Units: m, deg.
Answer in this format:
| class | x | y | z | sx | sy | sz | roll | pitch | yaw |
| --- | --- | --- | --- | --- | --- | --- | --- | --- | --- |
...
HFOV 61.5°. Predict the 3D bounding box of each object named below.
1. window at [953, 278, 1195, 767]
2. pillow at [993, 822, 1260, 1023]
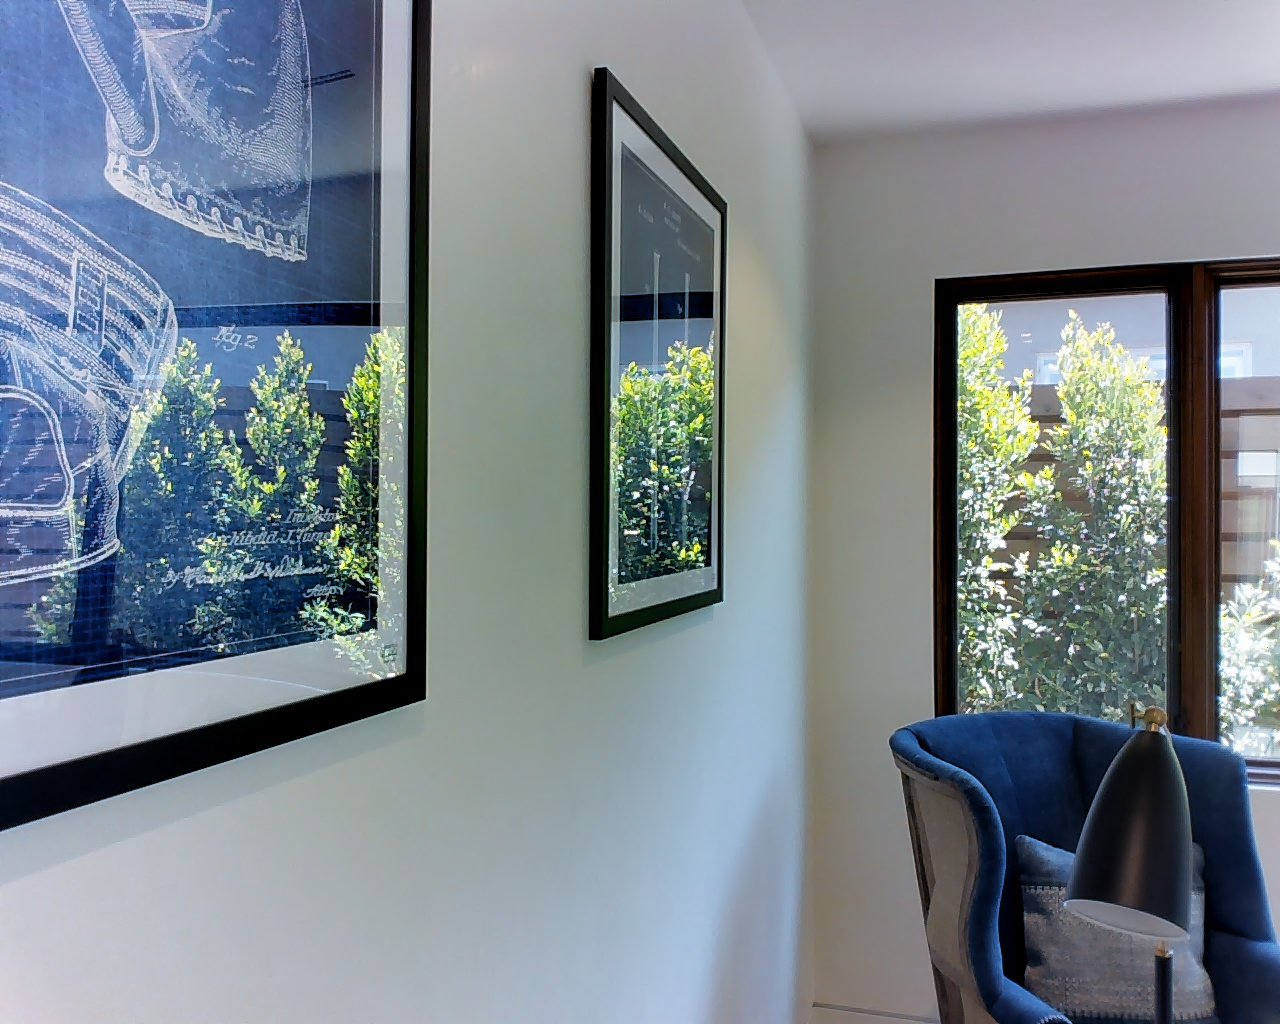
| class | x | y | z | sx | sy | sz | roll | pitch | yaw |
| --- | --- | --- | --- | --- | --- | --- | --- | --- | --- |
| window | 1.290 | 0.030 | 3.240 | 0.660 | 1.390 | 0.170 | 0 | 0 | 18 |
| pillow | 1.120 | 0.970 | 2.520 | 0.480 | 0.330 | 0.230 | 9 | 3 | 9 |
